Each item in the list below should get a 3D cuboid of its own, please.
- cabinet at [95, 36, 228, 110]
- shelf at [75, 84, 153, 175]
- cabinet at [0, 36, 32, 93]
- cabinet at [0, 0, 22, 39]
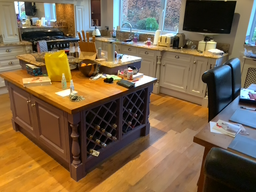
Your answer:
[{"bbox_3d":[0.460,-0.640,4.480,2.840,0.910,0.560,20,27,36],"label":"cabinet"},{"bbox_3d":[-0.100,0.310,2.320,0.070,0.690,1.050,22,28,38],"label":"shelf"},{"bbox_3d":[-2.330,-0.630,4.020,0.620,0.900,0.640,21,28,36],"label":"cabinet"},{"bbox_3d":[-2.250,-1.430,3.900,0.420,0.690,0.310,21,28,36],"label":"cabinet"}]
